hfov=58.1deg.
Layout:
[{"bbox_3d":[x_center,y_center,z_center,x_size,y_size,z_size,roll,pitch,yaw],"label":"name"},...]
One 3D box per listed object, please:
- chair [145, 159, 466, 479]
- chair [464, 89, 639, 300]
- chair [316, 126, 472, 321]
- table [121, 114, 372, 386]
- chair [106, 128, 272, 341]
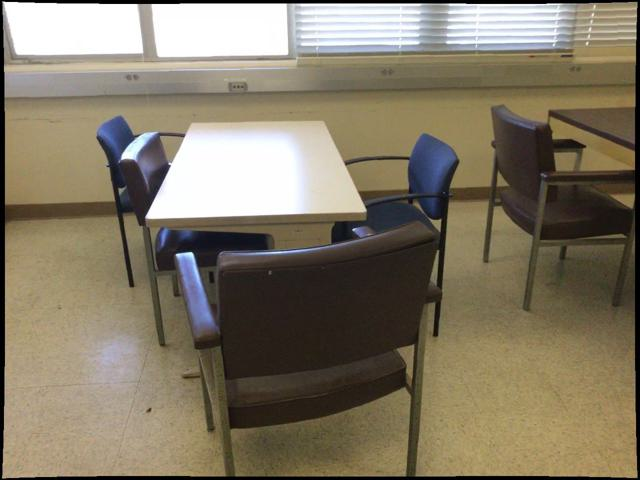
[{"bbox_3d":[-0.080,0.301,1.700,0.708,0.862,0.640,-7,26,-13],"label":"chair"},{"bbox_3d":[1.107,-0.241,2.680,0.628,0.762,0.670,-3,25,-3],"label":"chair"},{"bbox_3d":[0.279,-0.090,2.500,0.549,0.661,0.530,-3,25,-3],"label":"chair"},{"bbox_3d":[-0.289,-0.090,2.800,0.848,0.661,1.561,-3,25,-3],"label":"table"},{"bbox_3d":[-0.509,-0.040,2.490,0.549,0.752,0.510,-3,25,-3],"label":"chair"}]
